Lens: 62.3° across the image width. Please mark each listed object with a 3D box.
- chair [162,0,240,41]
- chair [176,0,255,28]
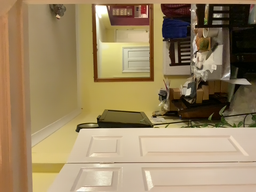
[{"bbox_3d":[1.070,-1.140,3.260,0.570,1.000,0.440,-132,41,-88],"label":"chair"},{"bbox_3d":[1.080,-0.930,2.150,0.570,1.020,0.440,-94,3,-71],"label":"chair"}]
